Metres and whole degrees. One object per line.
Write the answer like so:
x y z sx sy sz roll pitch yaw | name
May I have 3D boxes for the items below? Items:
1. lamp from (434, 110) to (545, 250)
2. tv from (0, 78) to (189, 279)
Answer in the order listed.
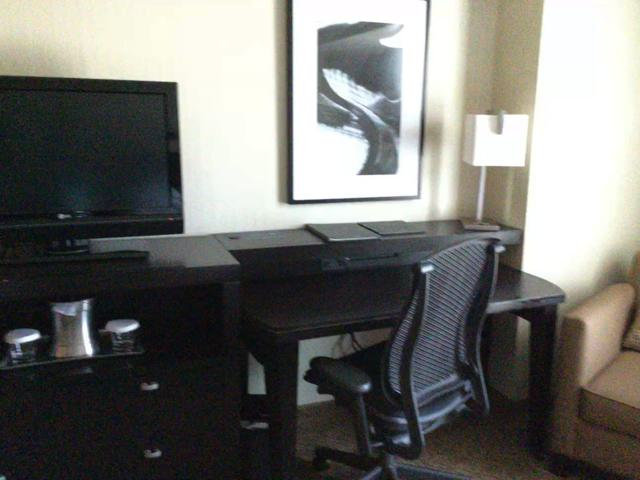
0.710 -0.270 2.480 0.260 0.550 0.350 -3 12 -21 | lamp
-0.860 -0.210 1.930 0.780 0.610 0.260 -3 12 -21 | tv
